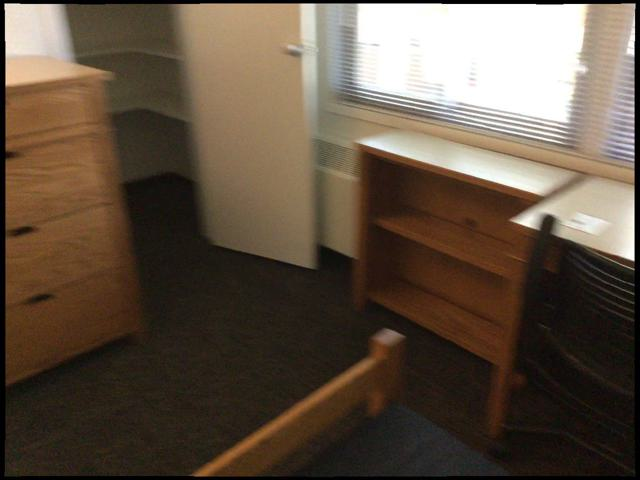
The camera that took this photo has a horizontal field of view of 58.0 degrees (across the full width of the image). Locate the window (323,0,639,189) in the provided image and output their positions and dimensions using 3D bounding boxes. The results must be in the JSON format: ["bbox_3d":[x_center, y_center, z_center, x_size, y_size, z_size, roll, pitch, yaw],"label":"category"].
[{"bbox_3d":[1.008,-0.671,1.850,2.498,0.901,0.300,24,36,39],"label":"window"}]
